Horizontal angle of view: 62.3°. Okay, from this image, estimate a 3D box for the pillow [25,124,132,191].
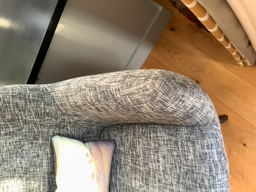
[{"bbox_3d":[-0.200,0.350,0.820,0.380,0.260,0.130,-54,-12,-13],"label":"pillow"}]
